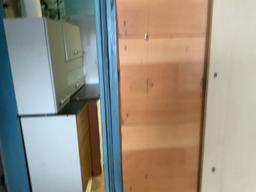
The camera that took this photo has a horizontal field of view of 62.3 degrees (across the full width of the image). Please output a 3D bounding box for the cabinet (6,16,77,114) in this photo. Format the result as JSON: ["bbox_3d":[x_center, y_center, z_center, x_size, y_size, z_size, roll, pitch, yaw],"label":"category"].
[{"bbox_3d":[-0.680,-0.260,1.780,0.360,0.720,0.410,-2,14,-2],"label":"cabinet"}]

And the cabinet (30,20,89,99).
[{"bbox_3d":[-0.700,-0.420,2.360,0.360,0.720,0.790,-2,14,-2],"label":"cabinet"}]

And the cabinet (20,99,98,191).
[{"bbox_3d":[-0.580,0.480,1.960,0.520,0.810,0.430,-2,14,-2],"label":"cabinet"}]
